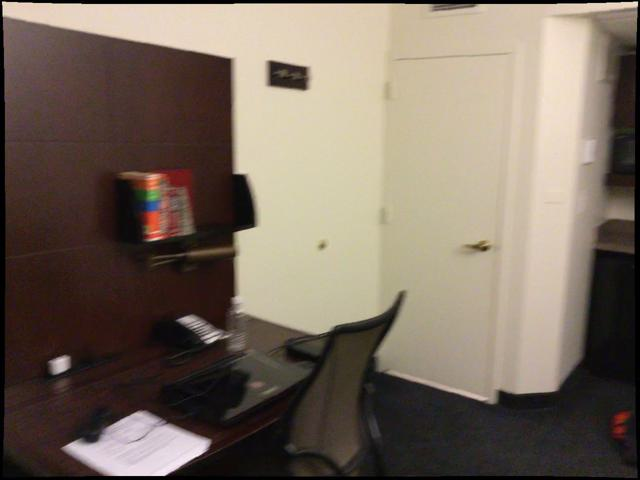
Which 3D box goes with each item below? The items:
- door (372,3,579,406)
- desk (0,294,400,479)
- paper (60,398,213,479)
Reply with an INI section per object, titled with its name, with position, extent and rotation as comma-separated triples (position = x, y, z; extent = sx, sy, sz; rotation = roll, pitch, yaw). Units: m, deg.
[door]
position = 0.819, -0.190, 3.350
extent = 0.999, 2.122, 0.130
rotation = 10, 14, 34
[desk]
position = -0.420, 0.771, 1.990
extent = 0.839, 0.751, 1.270
rotation = 10, 15, 34
[paper]
position = -0.480, 0.541, 1.520
extent = 0.290, 0.070, 0.260
rotation = 10, 15, 34
